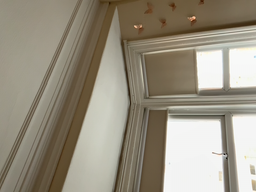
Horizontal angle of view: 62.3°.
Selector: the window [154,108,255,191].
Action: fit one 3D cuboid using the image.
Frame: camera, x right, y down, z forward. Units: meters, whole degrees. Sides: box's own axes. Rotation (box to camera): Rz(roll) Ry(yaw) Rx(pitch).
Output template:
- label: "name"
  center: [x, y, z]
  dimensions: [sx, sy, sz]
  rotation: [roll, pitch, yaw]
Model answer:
- label: "window"
  center: [1.020, 0.570, 1.830]
  dimensions: [0.260, 1.480, 0.930]
  rotation: [62, -147, -50]
